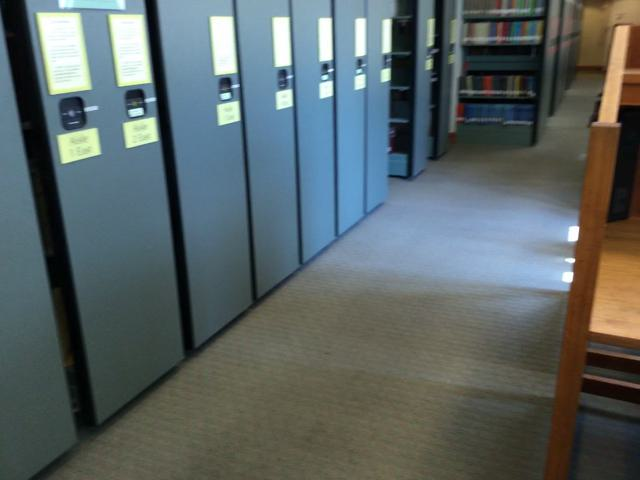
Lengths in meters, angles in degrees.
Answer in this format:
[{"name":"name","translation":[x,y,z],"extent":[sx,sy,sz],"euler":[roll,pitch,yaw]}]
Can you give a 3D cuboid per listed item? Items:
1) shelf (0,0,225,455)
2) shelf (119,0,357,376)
[{"name":"shelf","translation":[-1.020,-0.270,2.160],"extent":[0.830,1.860,0.690],"euler":[5,22,24]},{"name":"shelf","translation":[-0.250,-0.640,2.930],"extent":[0.180,1.990,1.700],"euler":[5,22,24]}]
